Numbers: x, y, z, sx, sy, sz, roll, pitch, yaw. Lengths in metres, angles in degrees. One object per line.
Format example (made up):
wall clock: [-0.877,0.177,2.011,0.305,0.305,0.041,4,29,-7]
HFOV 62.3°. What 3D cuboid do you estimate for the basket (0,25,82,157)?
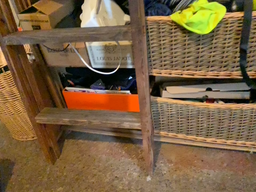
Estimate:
basket: [-0.710,-0.060,1.390,0.450,0.630,0.540,7,38,21]
